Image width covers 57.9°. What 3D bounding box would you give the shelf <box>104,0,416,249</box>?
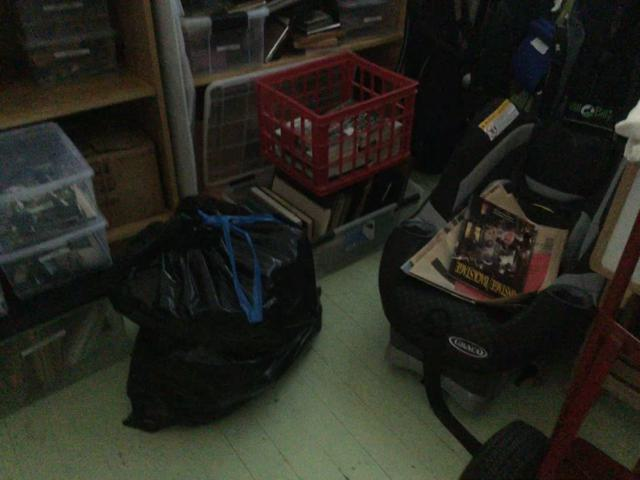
[{"bbox_3d":[-0.190,-0.780,1.970,0.890,1.300,0.550,-23,43,-30],"label":"shelf"}]

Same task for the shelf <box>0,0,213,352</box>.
[{"bbox_3d":[-0.920,-0.450,1.460,0.950,1.300,0.700,-23,43,-30],"label":"shelf"}]
